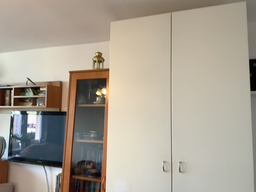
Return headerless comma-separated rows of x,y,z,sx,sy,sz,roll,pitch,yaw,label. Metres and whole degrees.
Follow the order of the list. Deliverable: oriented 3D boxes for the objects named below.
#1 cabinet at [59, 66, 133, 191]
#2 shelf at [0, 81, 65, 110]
-0.290,0.790,2.030,0.470,2.040,0.540,-1,-7,21,cabinet
-1.630,0.010,2.790,1.710,0.310,0.260,-1,-7,21,shelf
